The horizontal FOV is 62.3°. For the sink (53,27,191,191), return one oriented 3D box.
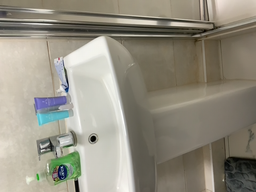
[{"bbox_3d":[-0.040,0.130,0.650,0.390,0.200,0.560,0,98,56],"label":"sink"}]
